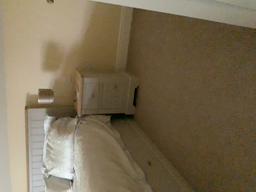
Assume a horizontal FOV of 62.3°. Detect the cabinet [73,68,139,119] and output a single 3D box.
[{"bbox_3d":[-0.290,-0.050,2.540,0.520,0.640,0.460,-142,55,-62],"label":"cabinet"}]
